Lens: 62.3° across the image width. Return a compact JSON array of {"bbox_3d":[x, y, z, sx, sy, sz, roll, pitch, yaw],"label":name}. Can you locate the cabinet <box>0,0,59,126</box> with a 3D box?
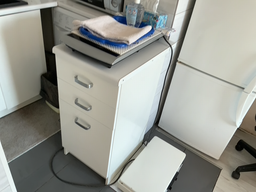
[{"bbox_3d":[-1.030,-0.270,1.570,0.480,0.840,0.840,30,40,25],"label":"cabinet"}]
